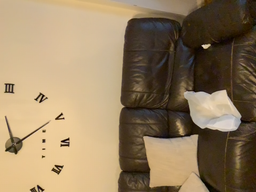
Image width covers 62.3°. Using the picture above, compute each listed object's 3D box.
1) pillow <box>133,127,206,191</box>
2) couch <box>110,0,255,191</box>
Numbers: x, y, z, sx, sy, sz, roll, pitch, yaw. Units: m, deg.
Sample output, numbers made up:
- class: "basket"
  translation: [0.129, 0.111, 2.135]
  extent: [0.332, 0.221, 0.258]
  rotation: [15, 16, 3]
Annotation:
- class: "pillow"
  translation: [0.320, 0.520, 1.610]
  extent: [0.410, 0.370, 0.140]
  rotation: [-48, 9, -17]
- class: "couch"
  translation: [0.470, 0.370, 1.650]
  extent: [1.050, 0.920, 1.990]
  rotation: [180, 91, -68]
